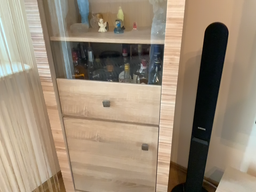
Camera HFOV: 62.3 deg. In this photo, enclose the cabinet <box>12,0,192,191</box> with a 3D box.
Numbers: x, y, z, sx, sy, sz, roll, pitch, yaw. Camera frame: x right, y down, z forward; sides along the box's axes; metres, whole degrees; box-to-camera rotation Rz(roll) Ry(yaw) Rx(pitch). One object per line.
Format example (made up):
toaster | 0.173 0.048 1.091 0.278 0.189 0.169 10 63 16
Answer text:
cabinet | -0.070 -0.320 1.020 0.670 2.030 0.460 5 27 11
